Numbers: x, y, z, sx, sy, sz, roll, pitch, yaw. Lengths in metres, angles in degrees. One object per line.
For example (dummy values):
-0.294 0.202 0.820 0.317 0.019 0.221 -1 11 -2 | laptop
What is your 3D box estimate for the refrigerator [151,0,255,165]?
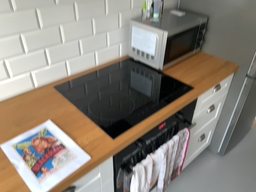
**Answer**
0.740 -0.530 1.580 0.640 2.030 0.720 -28 45 -34 | refrigerator
